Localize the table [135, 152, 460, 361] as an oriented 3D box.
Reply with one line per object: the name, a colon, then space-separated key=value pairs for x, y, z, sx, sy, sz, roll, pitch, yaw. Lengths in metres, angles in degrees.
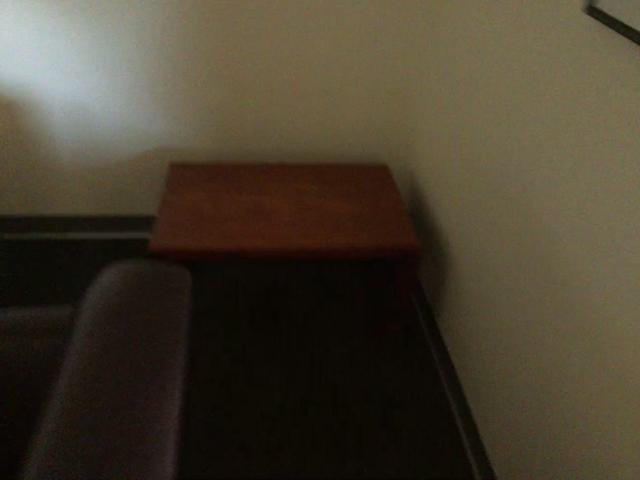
table: x=-0.080 y=0.030 z=1.860 sx=0.850 sy=0.420 sz=0.560 roll=0 pitch=32 yaw=-5
